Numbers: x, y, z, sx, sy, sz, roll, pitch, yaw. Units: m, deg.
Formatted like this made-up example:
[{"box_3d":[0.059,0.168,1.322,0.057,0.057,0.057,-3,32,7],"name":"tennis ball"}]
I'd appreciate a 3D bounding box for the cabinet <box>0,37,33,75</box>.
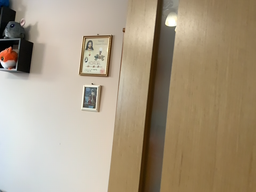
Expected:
[{"box_3d":[-0.880,-0.300,1.610,0.260,0.250,0.130,5,-3,25],"name":"cabinet"}]
